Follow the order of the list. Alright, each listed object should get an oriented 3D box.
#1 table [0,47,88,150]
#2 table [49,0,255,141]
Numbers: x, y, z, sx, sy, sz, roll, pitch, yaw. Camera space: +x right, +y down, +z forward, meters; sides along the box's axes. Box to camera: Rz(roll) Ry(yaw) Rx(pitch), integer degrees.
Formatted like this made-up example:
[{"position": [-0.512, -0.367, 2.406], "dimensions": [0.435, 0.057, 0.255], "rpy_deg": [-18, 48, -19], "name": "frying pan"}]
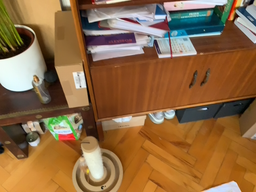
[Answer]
[{"position": [-0.530, 0.030, 1.320], "dimensions": [0.490, 0.520, 0.360], "rpy_deg": [-5, 53, -7], "name": "table"}, {"position": [0.290, -0.240, 1.160], "dimensions": [1.170, 1.150, 0.360], "rpy_deg": [-5, 53, -7], "name": "table"}]
